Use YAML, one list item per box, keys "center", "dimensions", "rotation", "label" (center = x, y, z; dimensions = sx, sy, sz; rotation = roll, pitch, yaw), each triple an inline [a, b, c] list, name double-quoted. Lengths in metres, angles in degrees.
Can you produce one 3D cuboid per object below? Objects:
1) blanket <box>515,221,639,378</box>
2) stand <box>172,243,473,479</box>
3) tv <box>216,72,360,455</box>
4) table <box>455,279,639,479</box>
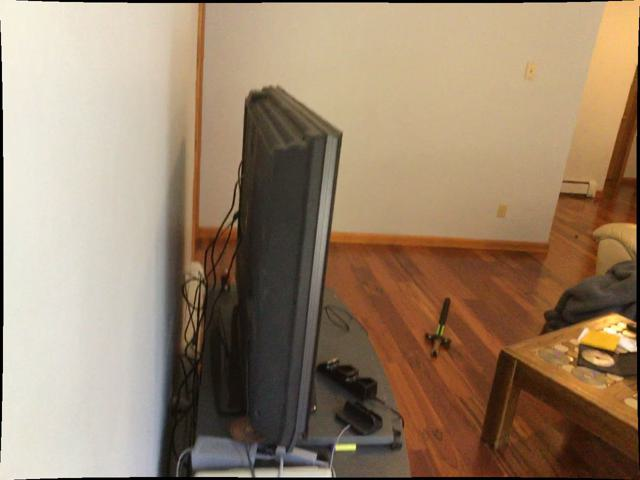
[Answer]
- center: [1.679, 0.310, 3.290]
  dimensions: [0.780, 0.530, 0.690]
  rotation: [22, 24, 33]
  label: "blanket"
- center: [-0.140, 0.530, 1.910]
  dimensions: [0.659, 0.590, 1.270]
  rotation: [3, 20, -14]
  label: "stand"
- center: [-0.170, -0.060, 1.670]
  dimensions: [0.170, 0.711, 1.130]
  rotation: [3, 20, -14]
  label: "tv"
- center: [1.249, 0.641, 2.270]
  dimensions: [0.890, 0.480, 0.990]
  rotation: [-9, 26, -40]
  label: "table"
